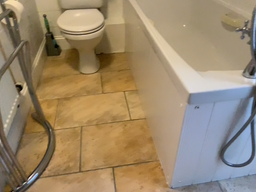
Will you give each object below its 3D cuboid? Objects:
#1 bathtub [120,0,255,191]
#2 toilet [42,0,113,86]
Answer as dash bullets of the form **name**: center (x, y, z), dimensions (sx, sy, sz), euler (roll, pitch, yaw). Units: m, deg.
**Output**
- **bathtub**: center (0.390, -0.310, 1.540), dimensions (0.690, 0.600, 1.680), euler (-6, 38, -7)
- **toilet**: center (-0.390, -0.620, 1.800), dimensions (0.420, 0.790, 0.660), euler (-6, 38, -7)
